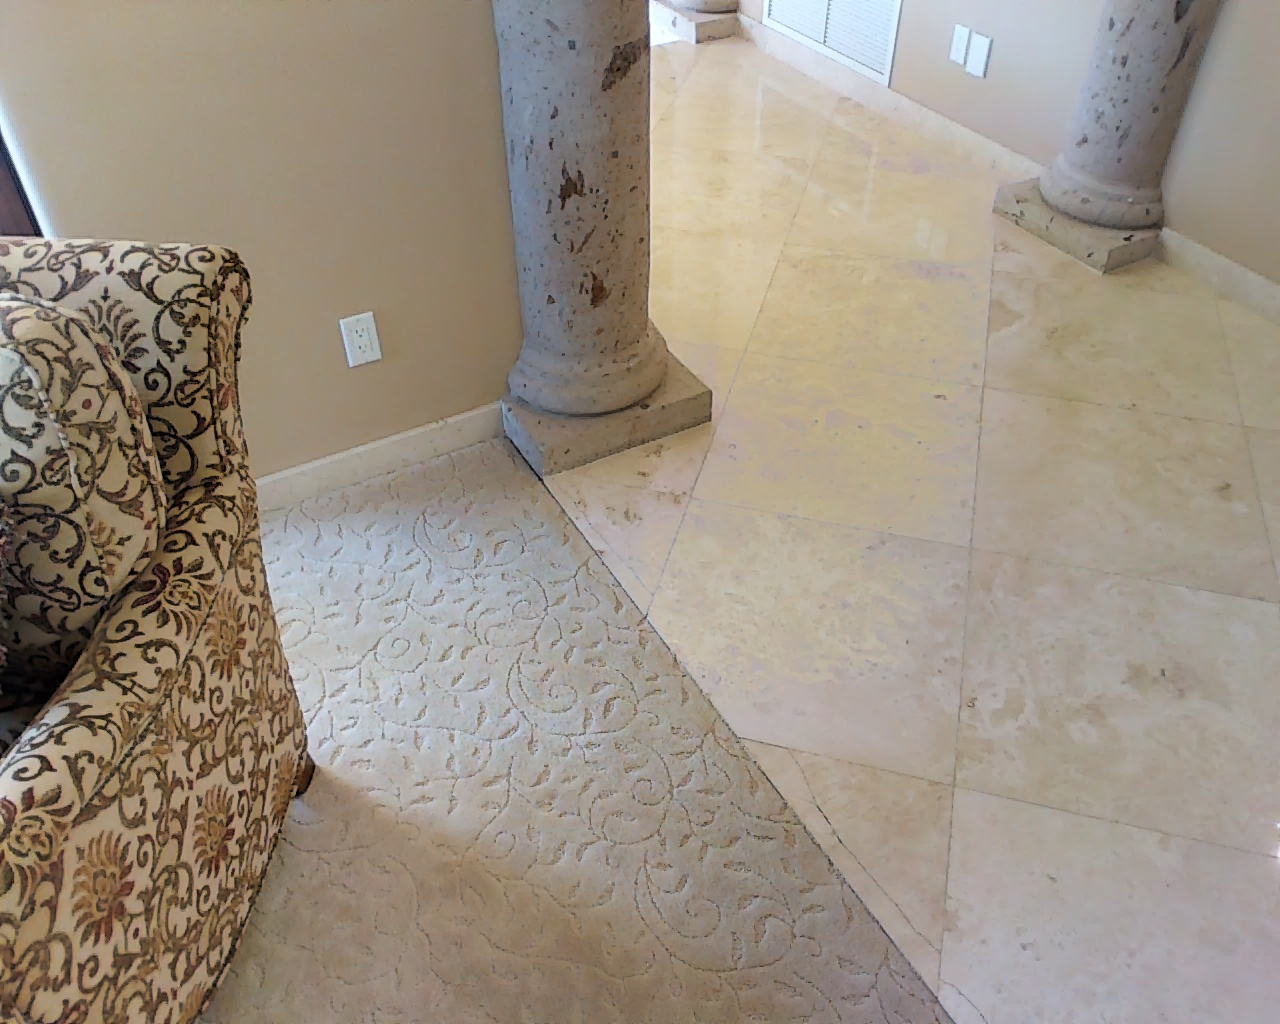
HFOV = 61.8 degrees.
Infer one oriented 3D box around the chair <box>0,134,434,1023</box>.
[{"bbox_3d":[-0.910,0.230,1.350,0.910,0.960,1.170,3,42,4],"label":"chair"}]
